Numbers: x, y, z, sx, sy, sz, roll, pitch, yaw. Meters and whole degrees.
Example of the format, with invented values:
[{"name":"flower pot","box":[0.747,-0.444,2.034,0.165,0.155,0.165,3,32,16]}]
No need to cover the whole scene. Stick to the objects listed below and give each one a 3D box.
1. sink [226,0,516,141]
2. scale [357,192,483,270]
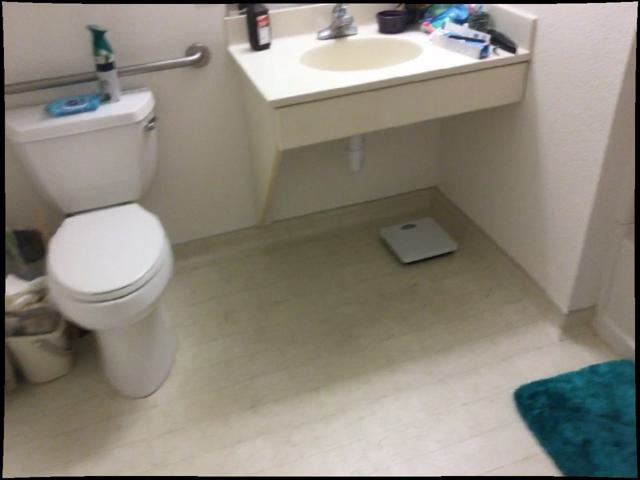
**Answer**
[{"name":"sink","box":[0.140,-0.601,1.900,0.769,0.210,0.530,-13,38,-15]},{"name":"scale","box":[0.410,-0.050,2.440,0.390,0.050,0.380,-13,38,-15]}]
